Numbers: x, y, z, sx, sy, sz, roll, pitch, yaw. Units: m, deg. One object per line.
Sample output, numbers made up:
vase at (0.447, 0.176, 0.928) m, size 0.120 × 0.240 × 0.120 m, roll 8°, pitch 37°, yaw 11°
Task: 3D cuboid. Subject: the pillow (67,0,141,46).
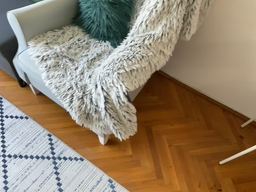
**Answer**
pillow at (-0.150, -0.510, 1.220) m, size 0.420 × 0.310 × 0.130 m, roll 31°, pitch 80°, yaw 16°
